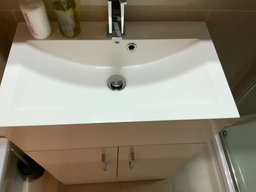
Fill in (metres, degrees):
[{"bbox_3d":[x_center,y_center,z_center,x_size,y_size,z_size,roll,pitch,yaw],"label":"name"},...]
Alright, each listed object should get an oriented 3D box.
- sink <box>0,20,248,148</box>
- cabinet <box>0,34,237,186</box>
[{"bbox_3d":[-0.030,-0.050,0.640,0.620,0.140,0.350,-1,60,-5],"label":"sink"},{"bbox_3d":[-0.050,0.150,0.980,0.610,0.820,0.350,-1,60,-5],"label":"cabinet"}]
